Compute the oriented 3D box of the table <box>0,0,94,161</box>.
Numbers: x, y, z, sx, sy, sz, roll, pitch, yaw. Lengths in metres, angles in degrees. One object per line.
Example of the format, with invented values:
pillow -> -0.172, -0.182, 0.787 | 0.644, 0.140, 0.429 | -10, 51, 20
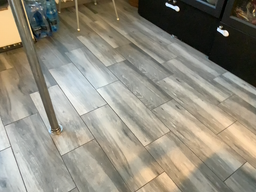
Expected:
table -> -0.760, -0.480, 1.370 | 0.390, 1.080, 1.390 | -24, 50, -26
